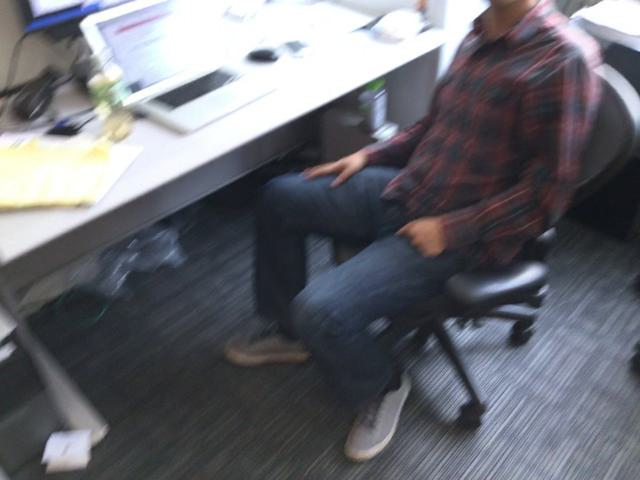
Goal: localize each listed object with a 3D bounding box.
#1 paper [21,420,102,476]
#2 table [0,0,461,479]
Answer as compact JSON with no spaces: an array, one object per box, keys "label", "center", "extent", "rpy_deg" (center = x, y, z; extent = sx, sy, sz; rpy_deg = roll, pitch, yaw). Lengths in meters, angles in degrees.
[{"label":"paper","center":[-0.680,0.550,1.530],"extent":[0.160,0.070,0.110],"rpy_deg":[-4,38,-2]},{"label":"table","center":[-0.360,-0.220,1.890],"extent":[0.740,0.790,1.650],"rpy_deg":[29,48,34]}]
